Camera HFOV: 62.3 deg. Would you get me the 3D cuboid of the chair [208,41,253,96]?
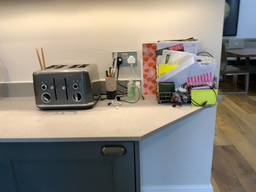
[{"bbox_3d":[1.920,-0.540,4.070,0.570,0.950,0.520,1,17,10],"label":"chair"}]
